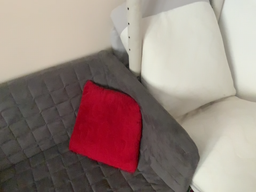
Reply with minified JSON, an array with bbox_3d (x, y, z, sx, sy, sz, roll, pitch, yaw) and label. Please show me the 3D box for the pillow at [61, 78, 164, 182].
[{"bbox_3d":[-0.080,0.160,1.020,0.380,0.320,0.080,40,15,7],"label":"pillow"}]
